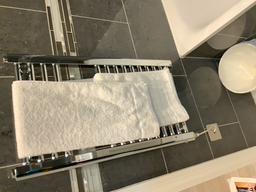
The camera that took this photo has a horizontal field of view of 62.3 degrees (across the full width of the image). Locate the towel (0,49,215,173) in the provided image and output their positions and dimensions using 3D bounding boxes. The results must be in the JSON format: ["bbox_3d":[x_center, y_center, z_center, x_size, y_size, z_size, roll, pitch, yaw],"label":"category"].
[{"bbox_3d":[-0.030,0.020,0.810,0.130,0.790,0.330,-39,60,53],"label":"towel"}]
